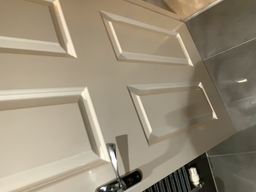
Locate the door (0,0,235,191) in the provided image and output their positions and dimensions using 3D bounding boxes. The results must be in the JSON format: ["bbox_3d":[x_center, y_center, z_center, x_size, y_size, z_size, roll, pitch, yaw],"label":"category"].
[{"bbox_3d":[-0.180,-0.040,0.590,0.050,1.930,0.750,-31,74,39],"label":"door"}]
